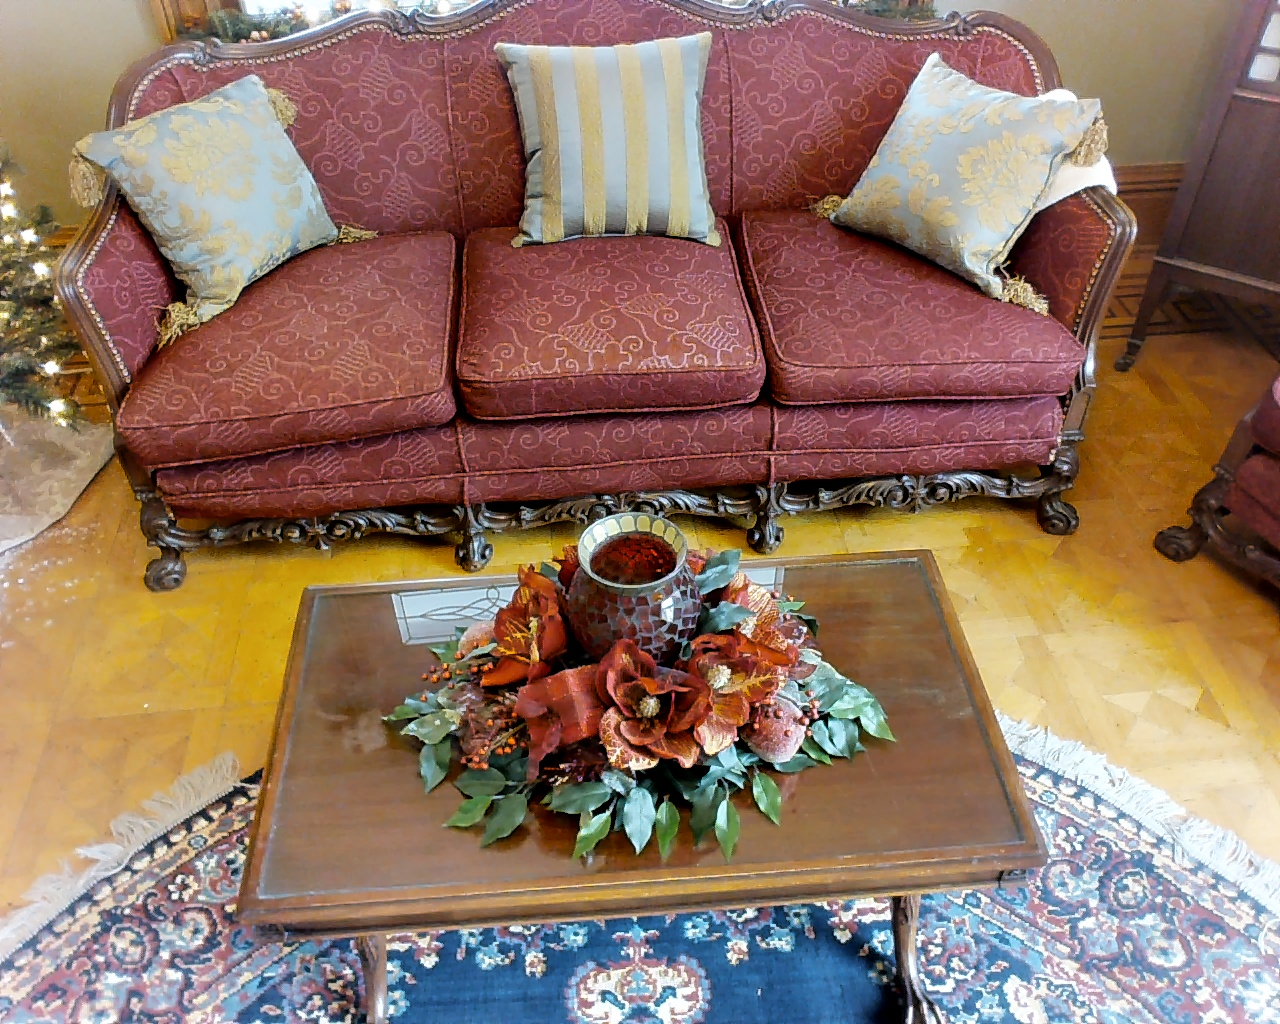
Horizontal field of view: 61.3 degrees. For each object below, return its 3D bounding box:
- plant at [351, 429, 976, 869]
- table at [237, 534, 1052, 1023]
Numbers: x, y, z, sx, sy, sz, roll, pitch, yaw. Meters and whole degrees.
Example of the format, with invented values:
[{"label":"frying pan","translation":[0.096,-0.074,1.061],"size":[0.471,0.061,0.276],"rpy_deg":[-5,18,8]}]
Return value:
[{"label":"plant","translation":[0.010,0.150,1.280],"size":[0.610,0.290,0.370],"rpy_deg":[-4,43,-5]},{"label":"table","translation":[-0.010,0.410,1.530],"size":[0.900,0.450,0.530],"rpy_deg":[-4,43,-5]}]
